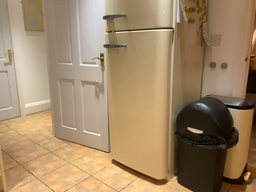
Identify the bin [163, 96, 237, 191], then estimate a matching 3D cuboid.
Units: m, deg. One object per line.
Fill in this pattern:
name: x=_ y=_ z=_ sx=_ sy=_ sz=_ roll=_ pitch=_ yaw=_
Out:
bin: x=0.530 y=0.390 z=1.600 sx=0.380 sy=0.690 sz=0.310 roll=12 pitch=18 yaw=38
